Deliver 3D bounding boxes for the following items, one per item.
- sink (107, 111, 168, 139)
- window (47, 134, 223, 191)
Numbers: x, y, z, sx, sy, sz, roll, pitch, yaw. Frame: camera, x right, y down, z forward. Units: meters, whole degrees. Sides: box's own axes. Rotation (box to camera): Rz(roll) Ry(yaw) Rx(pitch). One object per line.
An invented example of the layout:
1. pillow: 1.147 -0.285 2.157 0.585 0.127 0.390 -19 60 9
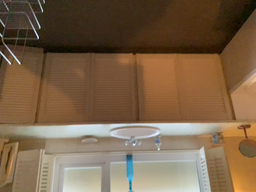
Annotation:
1. sink: 0.080 0.330 2.300 0.590 0.170 0.480 -1 158 -4
2. window: 0.090 1.170 2.550 1.970 1.290 0.420 -1 158 -5
